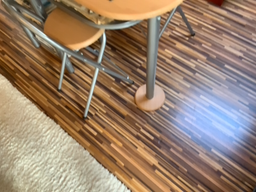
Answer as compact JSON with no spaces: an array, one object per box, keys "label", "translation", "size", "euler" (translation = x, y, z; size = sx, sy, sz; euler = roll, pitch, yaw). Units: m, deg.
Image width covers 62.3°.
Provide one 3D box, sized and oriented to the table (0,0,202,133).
[{"label":"table","translation":[-0.280,-0.430,1.180],"size":[1.180,0.800,0.390],"euler":[35,69,20]}]
